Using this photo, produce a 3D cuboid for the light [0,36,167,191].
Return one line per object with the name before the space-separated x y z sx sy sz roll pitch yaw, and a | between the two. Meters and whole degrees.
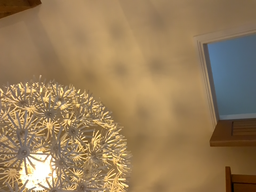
light | -0.890 0.430 1.400 1.860 1.000 1.000 -3 -149 33
